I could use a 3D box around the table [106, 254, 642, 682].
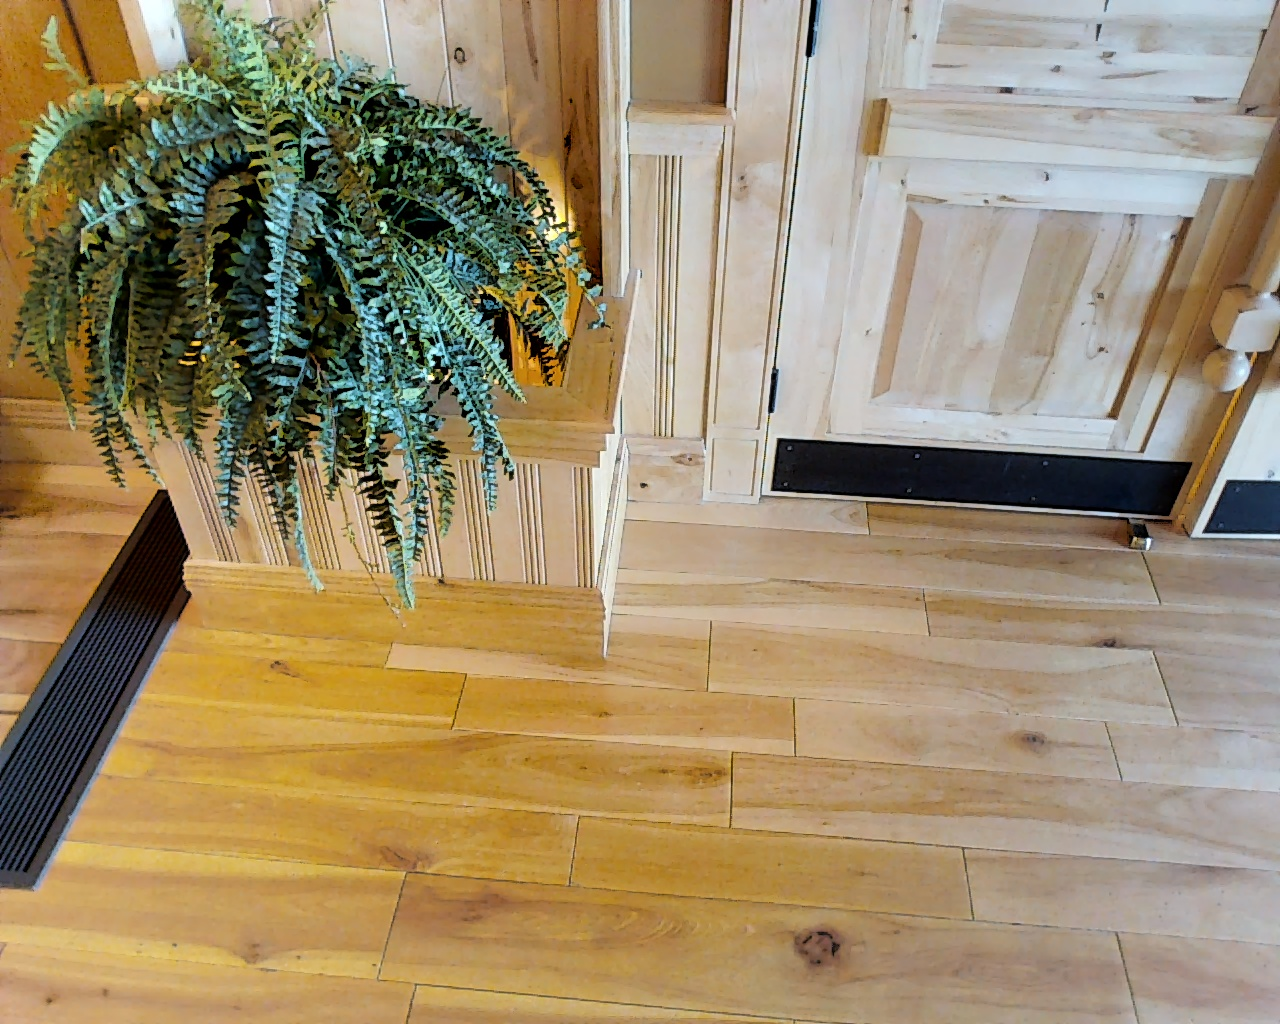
[{"bbox_3d":[-0.430,-0.090,2.090,0.820,0.590,0.510,4,42,4],"label":"table"}]
